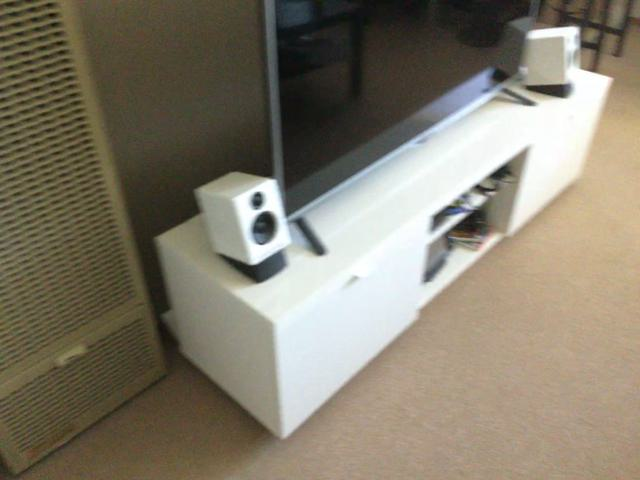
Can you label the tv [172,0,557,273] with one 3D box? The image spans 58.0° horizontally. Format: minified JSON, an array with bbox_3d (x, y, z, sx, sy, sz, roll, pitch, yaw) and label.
[{"bbox_3d":[0.230,-0.500,1.390,1.170,0.670,0.110,-35,47,-29],"label":"tv"}]
